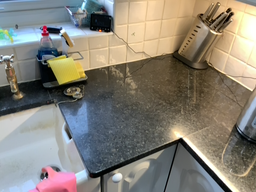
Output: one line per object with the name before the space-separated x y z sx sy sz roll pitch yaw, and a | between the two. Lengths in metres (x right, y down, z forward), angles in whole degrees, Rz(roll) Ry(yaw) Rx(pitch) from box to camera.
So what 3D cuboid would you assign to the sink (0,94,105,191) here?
sink | -0.450 0.290 0.790 0.590 0.260 0.450 -16 41 -25
